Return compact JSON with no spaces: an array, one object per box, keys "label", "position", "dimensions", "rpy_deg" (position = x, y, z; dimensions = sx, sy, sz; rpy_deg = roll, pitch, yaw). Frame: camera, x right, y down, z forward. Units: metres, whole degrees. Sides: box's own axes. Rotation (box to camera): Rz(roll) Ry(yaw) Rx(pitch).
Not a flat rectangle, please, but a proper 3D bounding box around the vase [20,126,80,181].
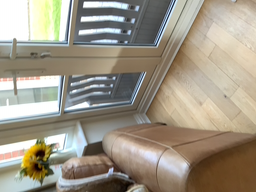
[{"label":"vase","position":[-0.650,0.470,1.730],"dimensions":[0.310,0.380,0.300],"rpy_deg":[-44,59,54]}]
